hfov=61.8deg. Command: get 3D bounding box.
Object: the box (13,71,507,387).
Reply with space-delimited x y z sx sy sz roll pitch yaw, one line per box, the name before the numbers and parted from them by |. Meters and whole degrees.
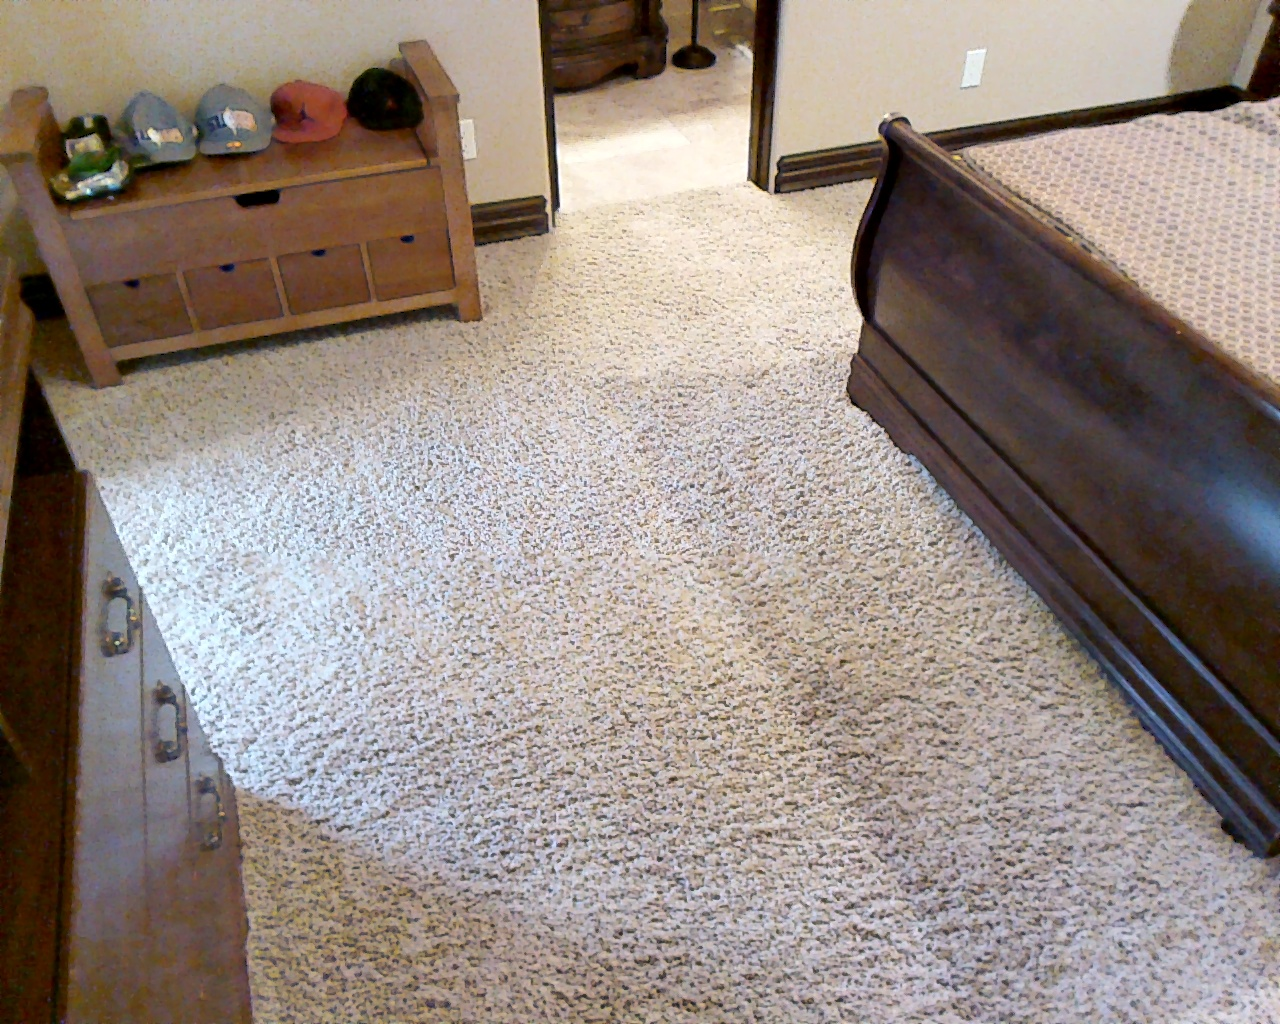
box | -0.960 -0.770 2.830 1.080 0.470 0.500 -14 44 -14
